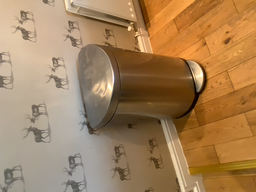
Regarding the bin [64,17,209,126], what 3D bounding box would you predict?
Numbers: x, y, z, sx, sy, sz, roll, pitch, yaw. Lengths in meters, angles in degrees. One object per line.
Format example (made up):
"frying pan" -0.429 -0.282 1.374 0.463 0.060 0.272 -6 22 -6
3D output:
"bin" 0.070 -0.100 1.230 0.330 0.720 0.410 -29 69 46
